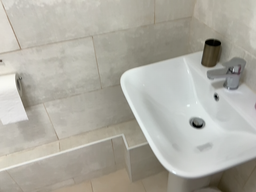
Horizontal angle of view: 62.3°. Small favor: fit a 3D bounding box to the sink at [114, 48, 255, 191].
[{"bbox_3d":[0.240,0.060,0.870,0.450,0.190,0.590,-13,42,-11],"label":"sink"}]
